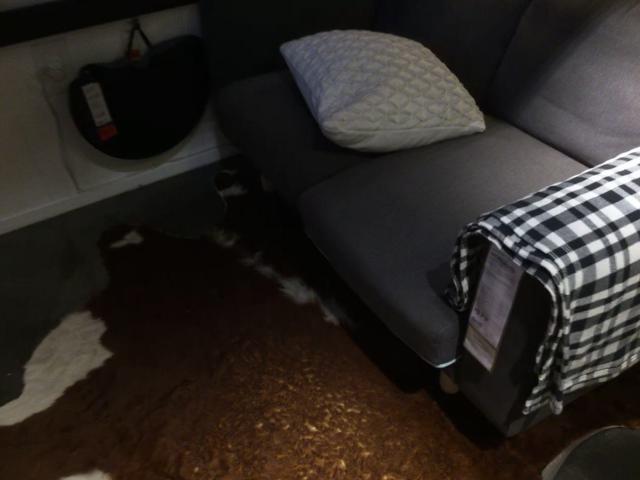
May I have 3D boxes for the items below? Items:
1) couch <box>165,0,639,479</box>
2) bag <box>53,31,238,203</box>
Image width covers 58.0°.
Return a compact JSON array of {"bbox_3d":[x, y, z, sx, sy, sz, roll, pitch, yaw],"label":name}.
[{"bbox_3d":[0.390,-0.340,1.590,1.020,0.700,1.710,-24,44,-20],"label":"couch"},{"bbox_3d":[-0.570,-0.420,1.980,0.490,0.430,0.150,-23,44,-20],"label":"bag"}]
